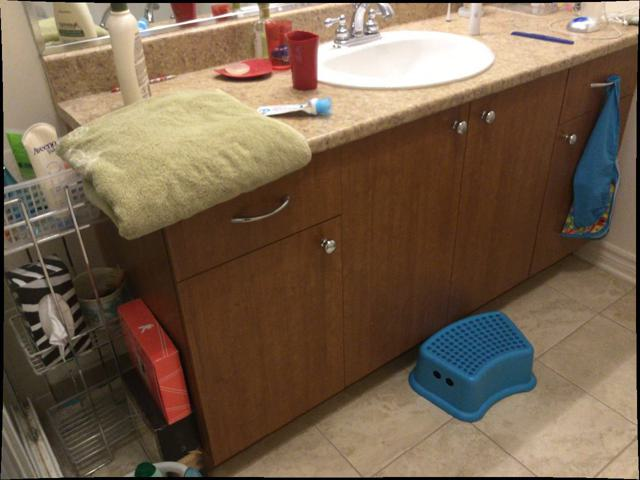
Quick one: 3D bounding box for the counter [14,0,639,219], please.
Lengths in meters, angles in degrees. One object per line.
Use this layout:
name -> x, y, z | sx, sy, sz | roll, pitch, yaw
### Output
counter -> 0.160, -0.571, 1.520 | 1.569, 0.230, 0.740 | -25, 41, -32

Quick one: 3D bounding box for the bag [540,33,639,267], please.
bag -> 0.899, -0.270, 1.820 | 0.300, 0.670, 0.120 | -25, 41, -32

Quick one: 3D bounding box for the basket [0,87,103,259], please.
basket -> -0.609, -0.140, 1.160 | 0.220, 0.240, 0.200 | -25, 41, -32
